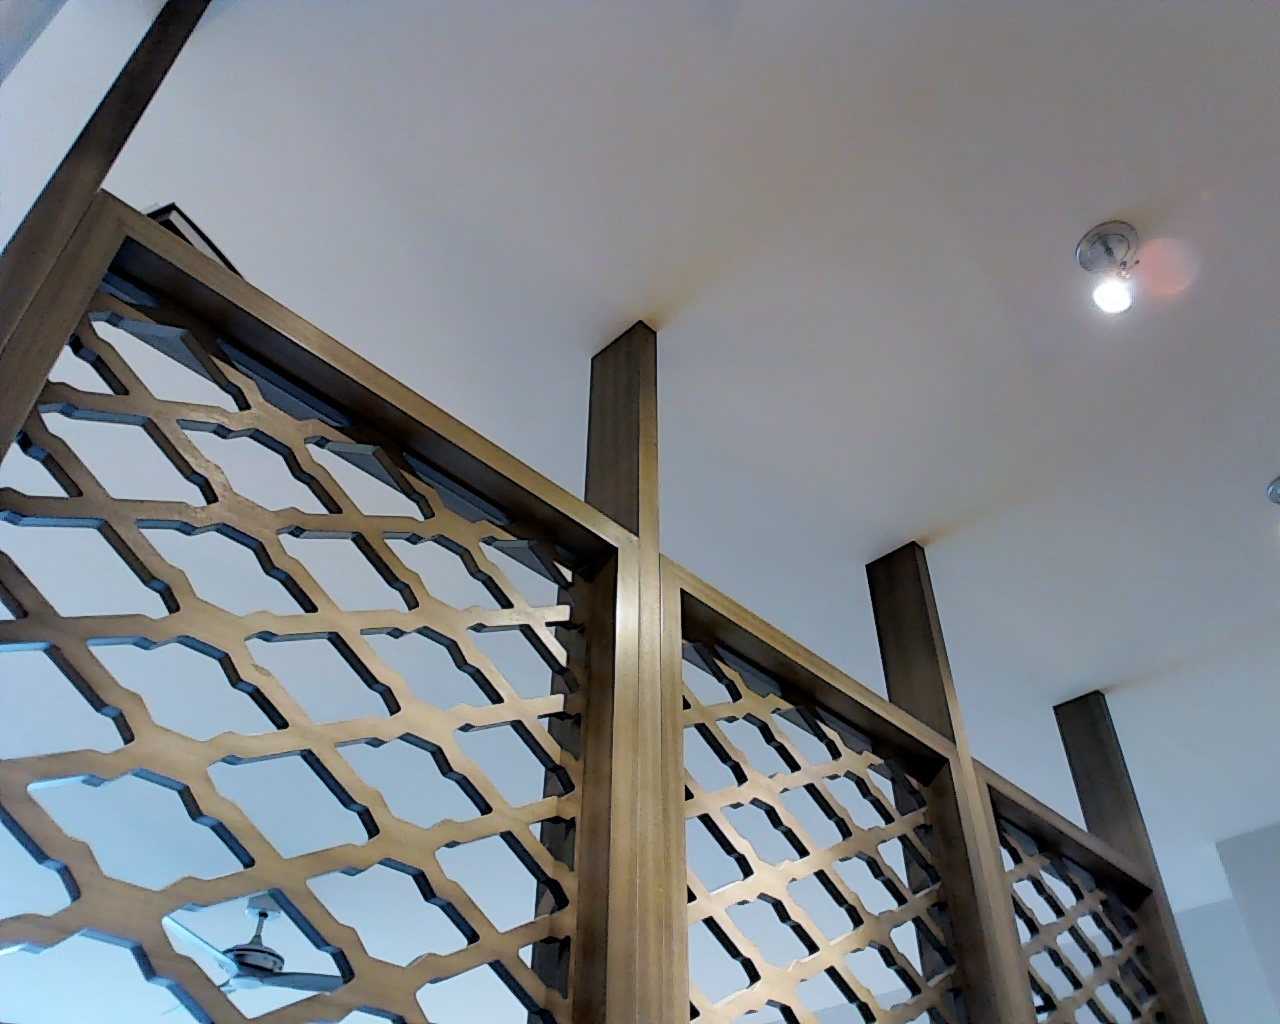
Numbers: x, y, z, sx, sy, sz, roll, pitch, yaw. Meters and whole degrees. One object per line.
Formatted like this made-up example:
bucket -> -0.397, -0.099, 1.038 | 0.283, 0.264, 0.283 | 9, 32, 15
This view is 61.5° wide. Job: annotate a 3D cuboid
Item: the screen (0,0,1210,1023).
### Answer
screen -> 0.270, 1.090, 1.590 | 0.220, 3.140, 3.330 | -32, -51, 32
